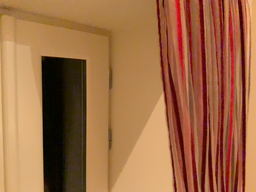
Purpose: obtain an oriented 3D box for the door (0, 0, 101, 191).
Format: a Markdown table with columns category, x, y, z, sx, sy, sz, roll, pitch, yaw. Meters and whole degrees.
| category | x | y | z | sx | sy | sz | roll | pitch | yaw |
| --- | --- | --- | --- | --- | --- | --- | --- | --- | --- |
| door | -0.410 | 0.630 | 0.780 | 0.740 | 1.890 | 0.030 | -4 | 6 | -43 |
